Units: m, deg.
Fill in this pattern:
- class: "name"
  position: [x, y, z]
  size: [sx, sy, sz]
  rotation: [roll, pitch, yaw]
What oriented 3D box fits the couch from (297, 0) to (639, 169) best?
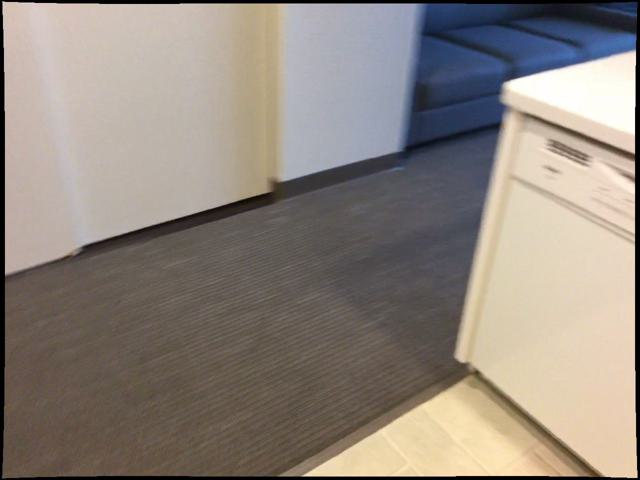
- class: "couch"
  position: [1.007, -1.293, 3.580]
  size: [2.107, 0.882, 0.980]
  rotation: [-21, 40, -29]
